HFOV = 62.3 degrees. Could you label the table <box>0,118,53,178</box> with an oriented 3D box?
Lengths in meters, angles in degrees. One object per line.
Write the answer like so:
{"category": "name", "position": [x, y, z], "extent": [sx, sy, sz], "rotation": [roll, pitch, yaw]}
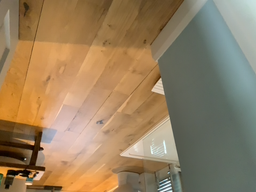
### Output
{"category": "table", "position": [-1.140, 0.440, 1.840], "extent": [0.830, 0.390, 0.320], "rotation": [13, 140, -23]}
